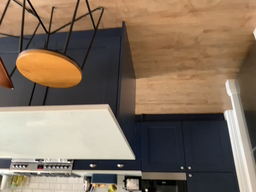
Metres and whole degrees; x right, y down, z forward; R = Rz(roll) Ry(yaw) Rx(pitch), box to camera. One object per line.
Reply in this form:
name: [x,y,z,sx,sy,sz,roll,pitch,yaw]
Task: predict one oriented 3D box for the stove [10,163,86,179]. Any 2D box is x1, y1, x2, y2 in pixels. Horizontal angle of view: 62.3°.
stove: [-1.270,1.240,3.480,0.980,0.160,0.610,-2,153,7]
